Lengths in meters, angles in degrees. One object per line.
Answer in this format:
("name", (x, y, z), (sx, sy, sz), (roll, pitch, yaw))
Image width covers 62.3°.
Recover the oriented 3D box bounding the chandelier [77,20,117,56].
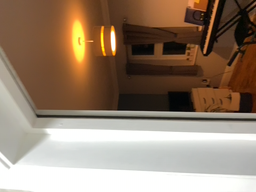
("chandelier", (-0.320, -0.620, 2.320), (0.310, 0.360, 0.360), (-66, 156, -77))
